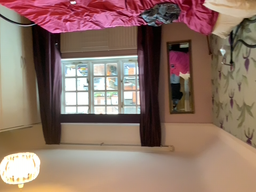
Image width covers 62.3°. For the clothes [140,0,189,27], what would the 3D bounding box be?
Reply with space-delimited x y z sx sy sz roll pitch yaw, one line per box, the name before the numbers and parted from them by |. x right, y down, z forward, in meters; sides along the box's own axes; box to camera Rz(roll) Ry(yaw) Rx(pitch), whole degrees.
clothes | 0.380 -0.810 2.100 0.420 0.070 0.470 -1 180 18
